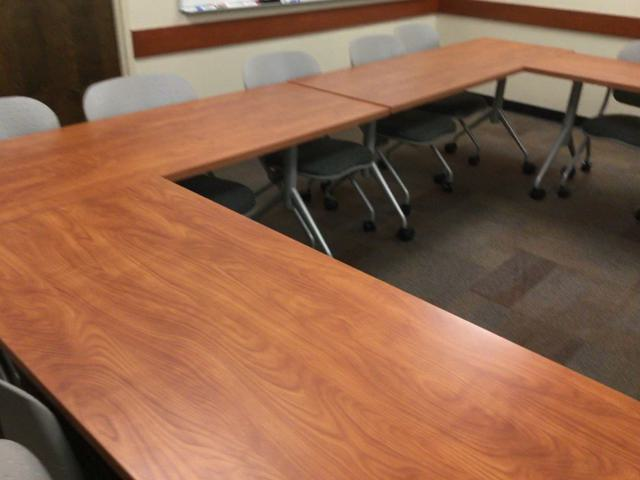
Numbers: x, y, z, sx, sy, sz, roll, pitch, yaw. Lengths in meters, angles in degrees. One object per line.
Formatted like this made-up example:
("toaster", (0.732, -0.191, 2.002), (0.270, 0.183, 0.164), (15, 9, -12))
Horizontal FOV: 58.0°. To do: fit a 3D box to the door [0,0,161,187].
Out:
("door", (-1.330, -1.310, 2.450), (0.160, 2.010, 0.890), (23, 43, 37))
